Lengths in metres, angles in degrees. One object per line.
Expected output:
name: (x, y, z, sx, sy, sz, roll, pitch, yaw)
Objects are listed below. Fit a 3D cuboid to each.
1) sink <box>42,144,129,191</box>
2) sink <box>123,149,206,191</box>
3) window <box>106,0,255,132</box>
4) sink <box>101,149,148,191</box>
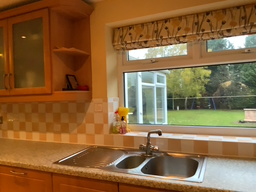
sink: (-0.300, 0.540, 1.650, 0.430, 0.180, 0.530, -2, 1, 24)
sink: (0.270, 0.520, 1.400, 0.420, 0.180, 0.530, -2, 1, 24)
window: (0.570, -0.420, 1.910, 1.600, 1.420, 0.170, -2, 1, 24)
sink: (-0.010, 0.530, 1.540, 0.200, 0.180, 0.370, -2, 1, 24)
